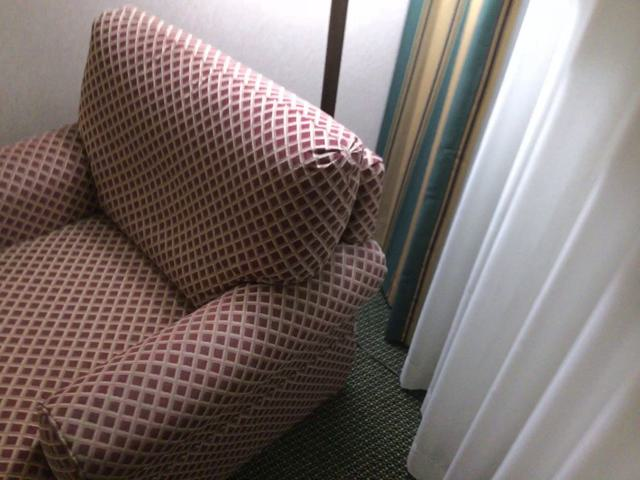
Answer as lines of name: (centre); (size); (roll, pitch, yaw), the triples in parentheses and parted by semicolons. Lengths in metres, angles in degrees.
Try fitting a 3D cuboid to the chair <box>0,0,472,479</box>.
chair: (-0.460, 0.060, 1.280); (0.950, 0.850, 0.990); (-27, 52, -34)
